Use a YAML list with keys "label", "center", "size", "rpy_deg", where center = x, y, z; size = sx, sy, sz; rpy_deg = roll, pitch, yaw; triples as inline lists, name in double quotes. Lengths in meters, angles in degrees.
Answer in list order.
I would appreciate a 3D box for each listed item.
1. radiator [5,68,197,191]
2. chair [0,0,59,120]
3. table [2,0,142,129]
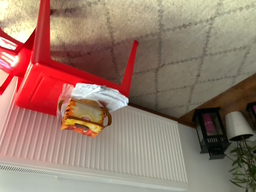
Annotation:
- label: "radiator"
  center: [-0.070, 0.290, 1.580]
  size: [1.330, 0.670, 0.100]
  rpy_deg: [18, 141, -26]
- label: "chair"
  center: [-0.620, -0.210, 1.100]
  size: [0.330, 0.490, 0.370]
  rpy_deg: [19, 140, -28]
- label: "table"
  center: [-0.320, -0.150, 1.270]
  size: [0.600, 0.410, 0.500]
  rpy_deg: [19, 140, -28]
